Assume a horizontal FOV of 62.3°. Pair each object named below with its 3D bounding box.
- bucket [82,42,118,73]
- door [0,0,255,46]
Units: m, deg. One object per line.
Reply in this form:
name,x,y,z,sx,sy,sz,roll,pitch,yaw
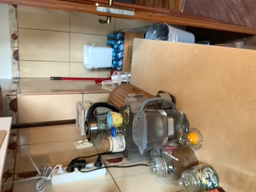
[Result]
bucket,-0.250,-0.330,1.830,0.240,0.240,0.220,-143,55,-60
door,-0.160,-0.590,1.460,0.880,2.110,0.090,-128,43,-52
